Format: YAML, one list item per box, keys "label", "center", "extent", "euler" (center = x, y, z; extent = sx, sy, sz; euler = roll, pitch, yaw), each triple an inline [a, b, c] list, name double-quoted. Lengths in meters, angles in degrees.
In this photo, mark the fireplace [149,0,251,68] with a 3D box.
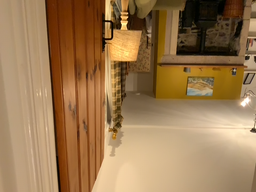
- label: "fireplace"
  center: [1.560, -1.560, 4.950]
  extent: [2.020, 1.700, 0.790]
  euler: [1, -167, 0]
